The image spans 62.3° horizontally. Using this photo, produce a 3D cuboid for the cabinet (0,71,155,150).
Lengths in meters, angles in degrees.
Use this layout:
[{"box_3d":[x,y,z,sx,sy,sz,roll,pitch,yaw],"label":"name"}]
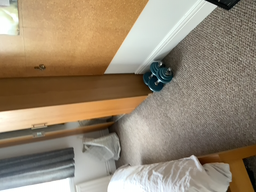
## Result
[{"box_3d":[-1.010,0.240,2.280,1.520,2.100,0.320,-42,56,59],"label":"cabinet"}]
